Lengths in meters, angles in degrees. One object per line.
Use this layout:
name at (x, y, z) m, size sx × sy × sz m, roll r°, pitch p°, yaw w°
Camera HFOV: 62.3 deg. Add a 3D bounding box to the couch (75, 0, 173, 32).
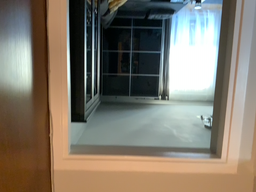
couch at (-0.050, -1.660, 3.490) m, size 1.100 × 0.810 × 2.450 m, roll 2°, pitch -171°, yaw -1°
